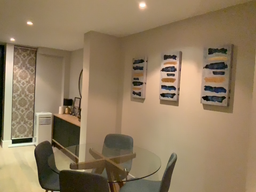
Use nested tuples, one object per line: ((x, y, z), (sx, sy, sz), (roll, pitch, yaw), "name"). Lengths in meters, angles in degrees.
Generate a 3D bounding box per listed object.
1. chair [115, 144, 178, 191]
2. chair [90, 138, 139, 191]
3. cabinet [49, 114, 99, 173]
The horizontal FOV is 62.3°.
((0.200, 1.010, 2.280), (0.550, 0.810, 0.440), (4, 3, 20), "chair")
((-0.160, 1.000, 2.780), (0.440, 0.750, 0.530), (4, 2, 19), "chair")
((-1.210, 0.910, 4.520), (0.420, 0.850, 1.560), (2, 3, -37), "cabinet")
